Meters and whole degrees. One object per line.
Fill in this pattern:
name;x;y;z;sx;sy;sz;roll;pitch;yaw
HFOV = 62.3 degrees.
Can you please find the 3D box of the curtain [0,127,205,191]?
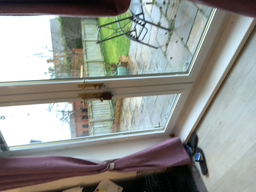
curtain;-0.370;0.690;2.180;0.530;2.220;0.320;108;154;-56
